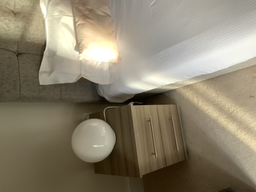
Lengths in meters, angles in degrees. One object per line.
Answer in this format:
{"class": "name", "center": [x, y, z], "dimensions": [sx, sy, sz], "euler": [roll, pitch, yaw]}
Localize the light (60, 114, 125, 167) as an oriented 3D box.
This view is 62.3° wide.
{"class": "light", "center": [-0.210, 0.250, 1.230], "dimensions": [0.270, 0.240, 0.250], "euler": [-14, 80, 44]}
